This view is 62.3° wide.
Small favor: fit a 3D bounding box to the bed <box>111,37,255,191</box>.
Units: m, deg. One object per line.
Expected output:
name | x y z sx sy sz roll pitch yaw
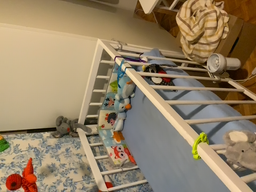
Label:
bed | 0.450 0.260 1.040 1.170 0.530 0.600 54 133 44
